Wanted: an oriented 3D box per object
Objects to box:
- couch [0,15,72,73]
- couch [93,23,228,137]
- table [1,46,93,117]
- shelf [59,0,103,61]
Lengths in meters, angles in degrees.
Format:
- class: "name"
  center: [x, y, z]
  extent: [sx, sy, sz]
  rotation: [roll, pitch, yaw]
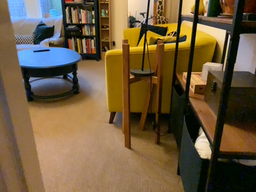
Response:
- class: "couch"
  center: [-2.010, -0.970, 3.740]
  extent: [1.680, 0.820, 1.040]
  rotation: [1, 23, 1]
- class: "couch"
  center: [0.280, -0.410, 2.580]
  extent: [0.950, 0.760, 2.010]
  rotation: [2, 23, 3]
- class: "table"
  center: [-1.050, -0.280, 2.630]
  extent: [0.820, 0.430, 1.210]
  rotation: [-12, 26, -27]
- class: "shelf"
  center: [-0.870, -1.620, 3.920]
  extent: [0.670, 1.890, 0.380]
  rotation: [1, 23, 2]
